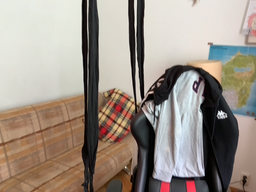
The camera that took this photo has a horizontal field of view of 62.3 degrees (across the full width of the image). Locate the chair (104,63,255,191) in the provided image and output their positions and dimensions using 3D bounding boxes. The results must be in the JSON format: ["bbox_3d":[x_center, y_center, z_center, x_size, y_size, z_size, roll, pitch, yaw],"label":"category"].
[{"bbox_3d":[0.270,0.560,1.090,0.660,1.370,0.730,3,12,5],"label":"chair"}]

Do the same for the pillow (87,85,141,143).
[{"bbox_3d":[-0.160,0.230,2.710,0.450,0.660,0.290,11,47,29],"label":"pillow"}]
